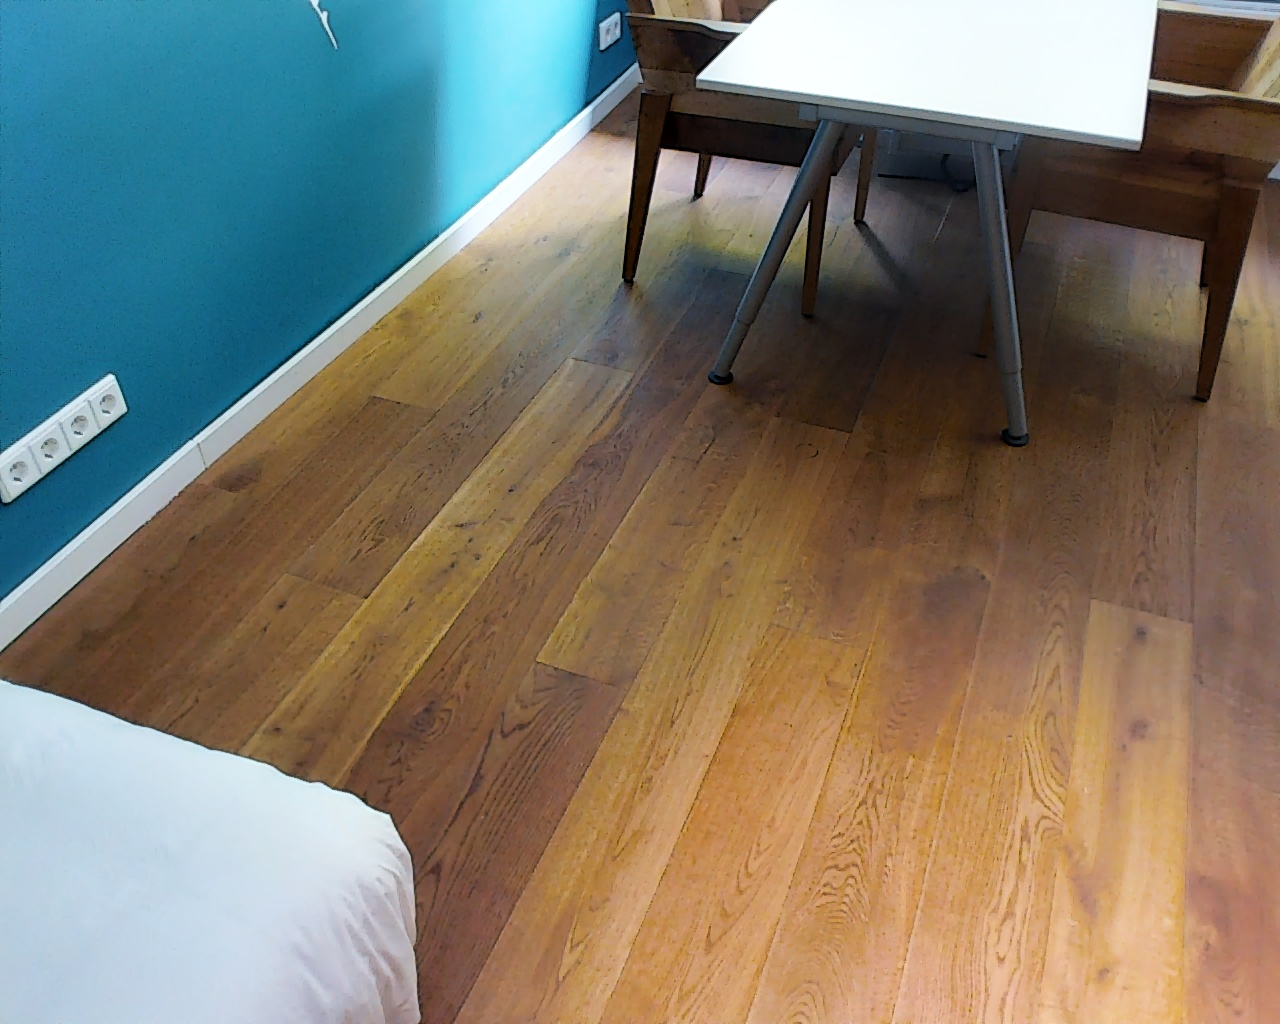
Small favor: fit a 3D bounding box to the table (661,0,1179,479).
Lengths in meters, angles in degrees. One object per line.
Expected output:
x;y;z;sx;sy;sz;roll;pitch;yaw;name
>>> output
0.790;-1.010;2.740;0.870;0.740;1.820;15;43;16;table
